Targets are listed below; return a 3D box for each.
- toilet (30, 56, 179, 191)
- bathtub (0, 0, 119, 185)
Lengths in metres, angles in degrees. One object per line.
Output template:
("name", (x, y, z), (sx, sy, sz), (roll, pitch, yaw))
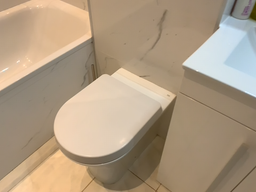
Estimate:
("toilet", (-0.080, 0.180, 1.090), (0.380, 0.450, 0.550), (30, 53, 24))
("bathtub", (-0.840, 0.050, 1.130), (0.670, 0.520, 1.670), (29, 52, 24))
